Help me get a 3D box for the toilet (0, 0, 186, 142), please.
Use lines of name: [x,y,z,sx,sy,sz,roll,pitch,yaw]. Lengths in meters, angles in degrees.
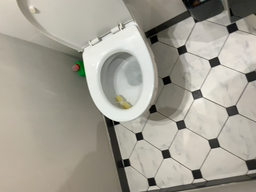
toilet: [-0.080,-0.140,0.990,0.370,0.850,0.520,-20,78,25]
